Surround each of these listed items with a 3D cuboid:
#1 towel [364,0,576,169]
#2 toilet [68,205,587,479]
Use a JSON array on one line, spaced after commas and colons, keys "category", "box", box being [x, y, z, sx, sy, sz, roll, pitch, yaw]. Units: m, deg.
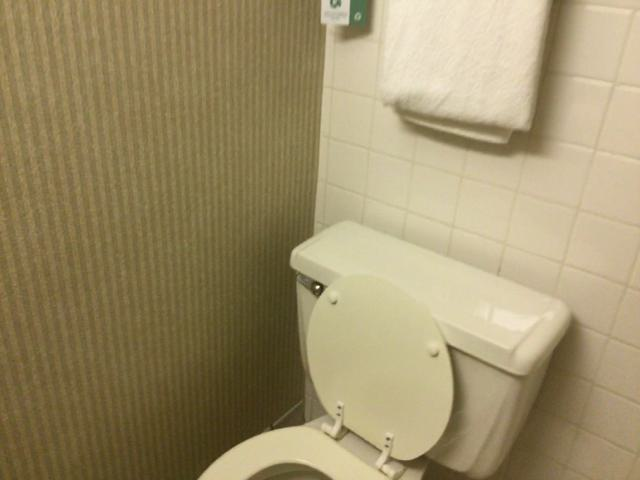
[{"category": "towel", "box": [0.240, -0.340, 0.950, 0.290, 0.370, 0.130, 19, 30, 32]}, {"category": "toilet", "box": [0.050, 0.440, 1.080, 0.530, 0.740, 0.680, 19, 30, 32]}]
